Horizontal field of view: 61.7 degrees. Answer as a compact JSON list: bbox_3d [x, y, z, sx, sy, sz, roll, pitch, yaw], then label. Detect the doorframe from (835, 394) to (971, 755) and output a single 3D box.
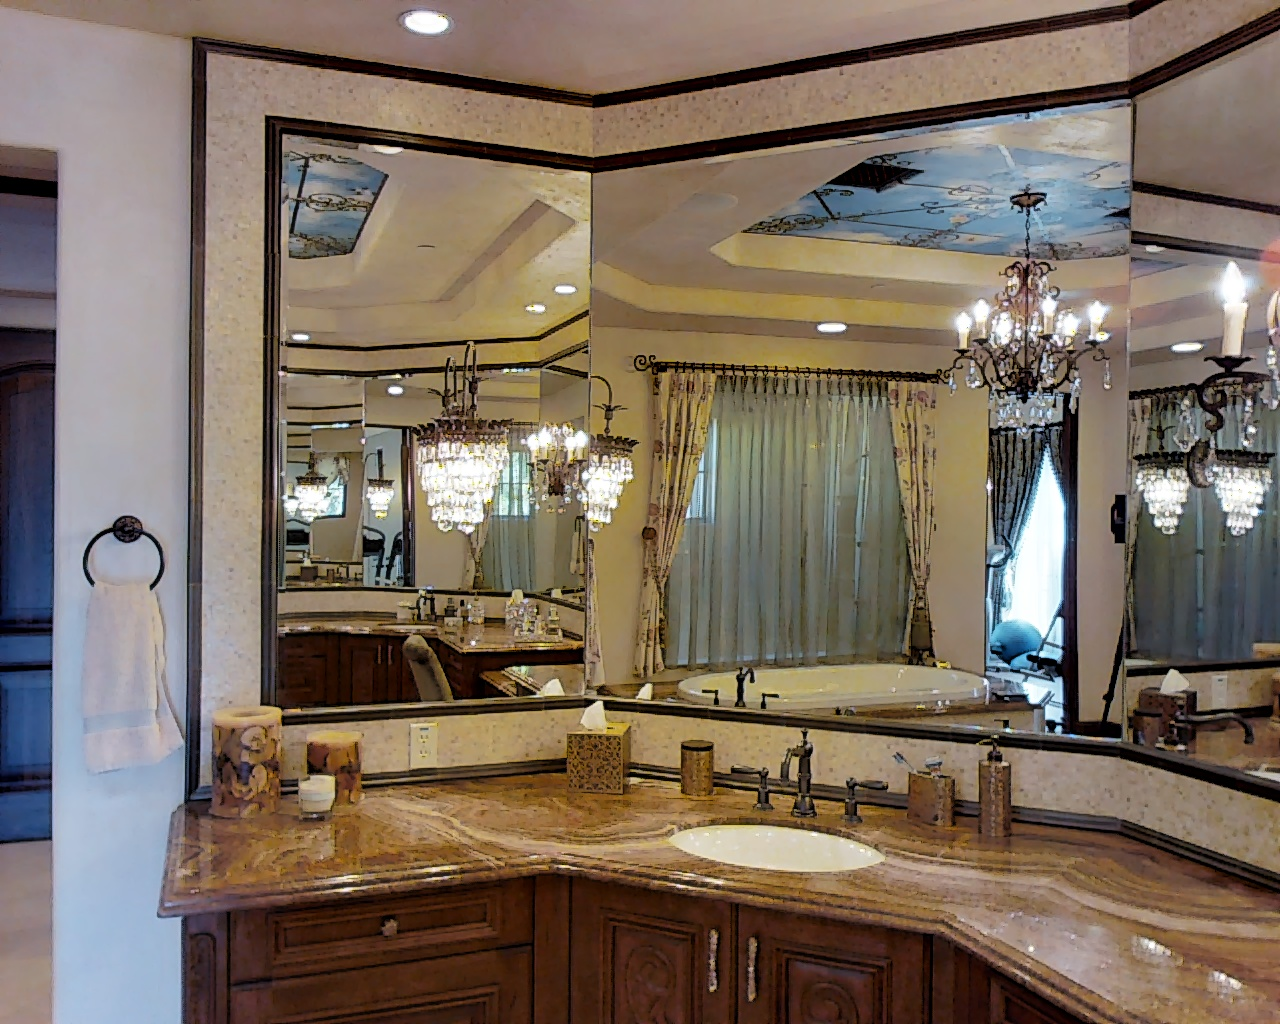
[{"bbox_3d":[1.820,0.420,7.400,0.910,2.400,0.250,1,0,-21],"label":"doorframe"}]
